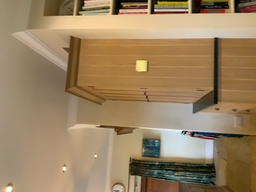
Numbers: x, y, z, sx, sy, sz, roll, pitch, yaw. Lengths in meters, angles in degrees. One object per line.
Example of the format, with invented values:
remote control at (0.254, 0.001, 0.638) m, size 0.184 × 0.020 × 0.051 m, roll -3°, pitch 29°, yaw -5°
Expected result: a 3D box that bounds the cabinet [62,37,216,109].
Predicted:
cabinet at (0.150, -0.190, 2.430) m, size 1.140 × 1.340 × 0.480 m, roll 52°, pitch -139°, yaw -78°
